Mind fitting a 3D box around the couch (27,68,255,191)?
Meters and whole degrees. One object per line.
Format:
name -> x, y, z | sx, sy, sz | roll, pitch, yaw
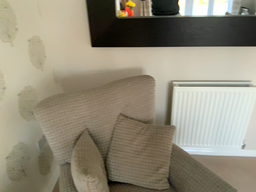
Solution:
couch -> 0.000, 0.480, 1.260 | 0.850, 0.890, 0.900 | -15, 32, -22
